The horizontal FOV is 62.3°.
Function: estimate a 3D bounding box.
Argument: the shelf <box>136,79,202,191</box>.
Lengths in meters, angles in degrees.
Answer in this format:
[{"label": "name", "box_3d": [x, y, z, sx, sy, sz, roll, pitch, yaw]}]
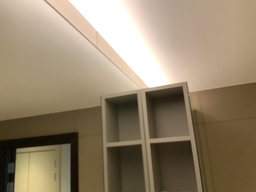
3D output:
[{"label": "shelf", "box_3d": [0.230, 0.470, 1.020, 0.240, 1.060, 0.230, -9, -16, 16]}]
